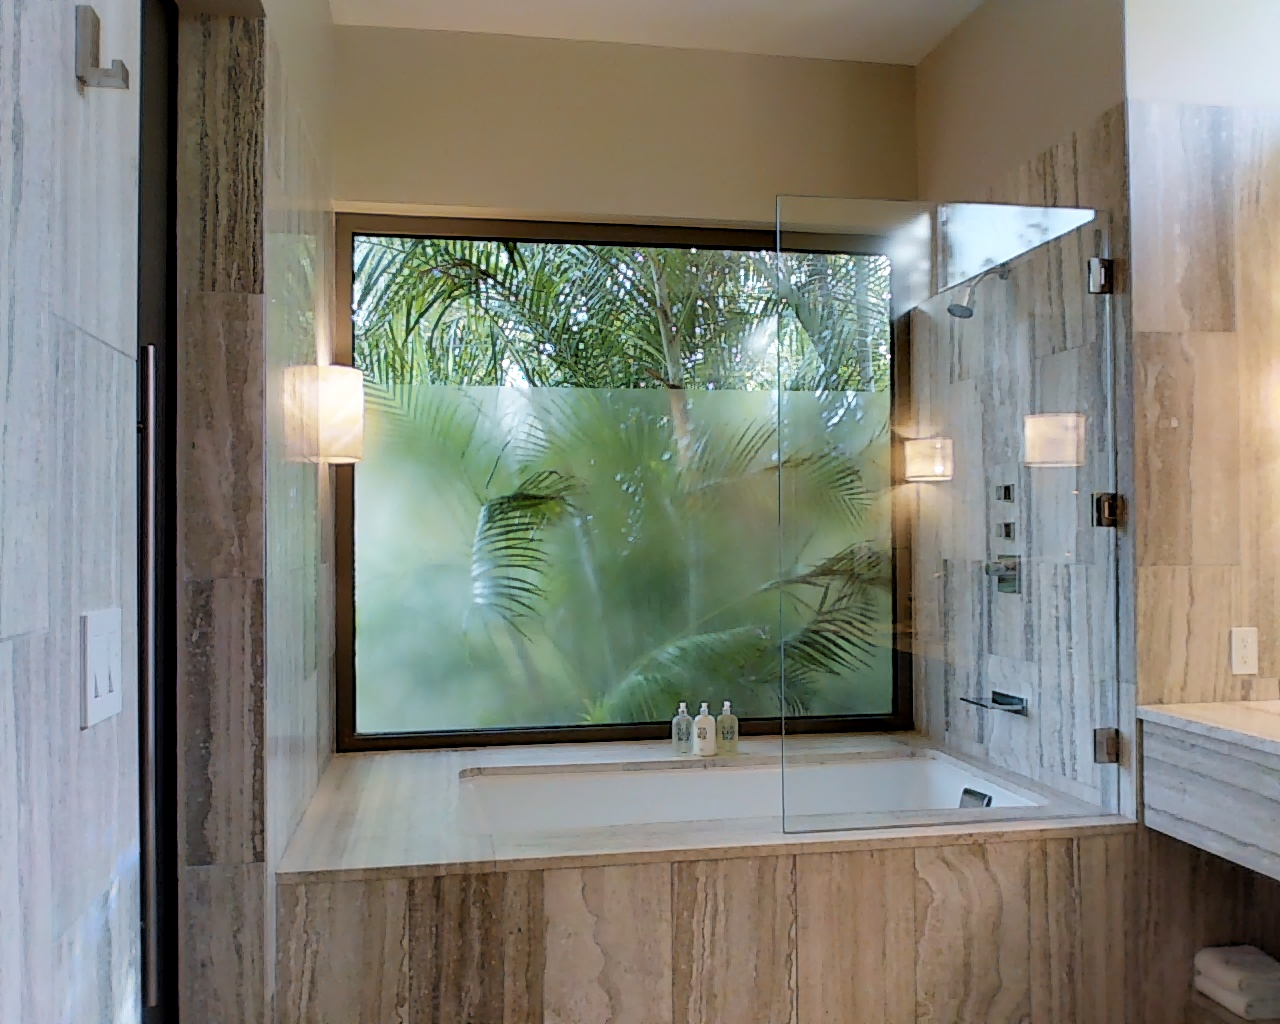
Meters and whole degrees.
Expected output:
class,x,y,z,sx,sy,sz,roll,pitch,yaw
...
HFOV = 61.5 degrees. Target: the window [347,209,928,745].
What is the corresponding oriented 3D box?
class,x,y,z,sx,sy,sz,roll,pitch,yaw
window,0.030,-0.130,3.960,2.130,1.860,0.090,0,0,-10
